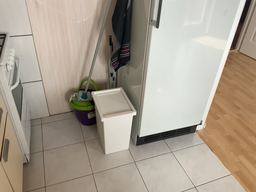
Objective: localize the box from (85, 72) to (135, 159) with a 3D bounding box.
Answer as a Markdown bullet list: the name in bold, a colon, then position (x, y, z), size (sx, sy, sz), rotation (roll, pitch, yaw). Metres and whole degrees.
- **box**: position (-0.180, 0.140, 1.860), size (0.280, 0.420, 0.630), rotation (-7, 37, -15)
